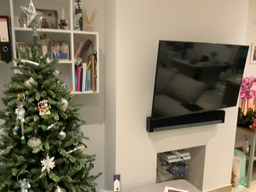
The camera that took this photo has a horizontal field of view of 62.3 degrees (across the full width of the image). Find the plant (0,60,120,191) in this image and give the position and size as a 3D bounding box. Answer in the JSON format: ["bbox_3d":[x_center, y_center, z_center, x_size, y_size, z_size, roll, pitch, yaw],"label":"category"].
[{"bbox_3d":[-0.650,0.550,1.670,0.930,1.630,0.780,-4,11,-24],"label":"plant"}]

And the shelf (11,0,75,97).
[{"bbox_3d":[-0.730,-0.430,1.870,0.480,0.850,0.070,-4,11,-23],"label":"shelf"}]

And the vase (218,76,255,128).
[{"bbox_3d":[1.450,0.060,2.820,0.360,0.630,0.250,-4,11,-26],"label":"vase"}]
